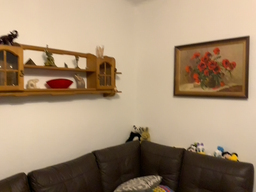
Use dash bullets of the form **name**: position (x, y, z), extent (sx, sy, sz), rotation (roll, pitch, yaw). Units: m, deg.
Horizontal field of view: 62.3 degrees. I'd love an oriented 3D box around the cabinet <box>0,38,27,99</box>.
- **cabinet**: position (-0.980, -0.210, 1.680), extent (0.150, 0.460, 0.280), rotation (2, 4, 41)
